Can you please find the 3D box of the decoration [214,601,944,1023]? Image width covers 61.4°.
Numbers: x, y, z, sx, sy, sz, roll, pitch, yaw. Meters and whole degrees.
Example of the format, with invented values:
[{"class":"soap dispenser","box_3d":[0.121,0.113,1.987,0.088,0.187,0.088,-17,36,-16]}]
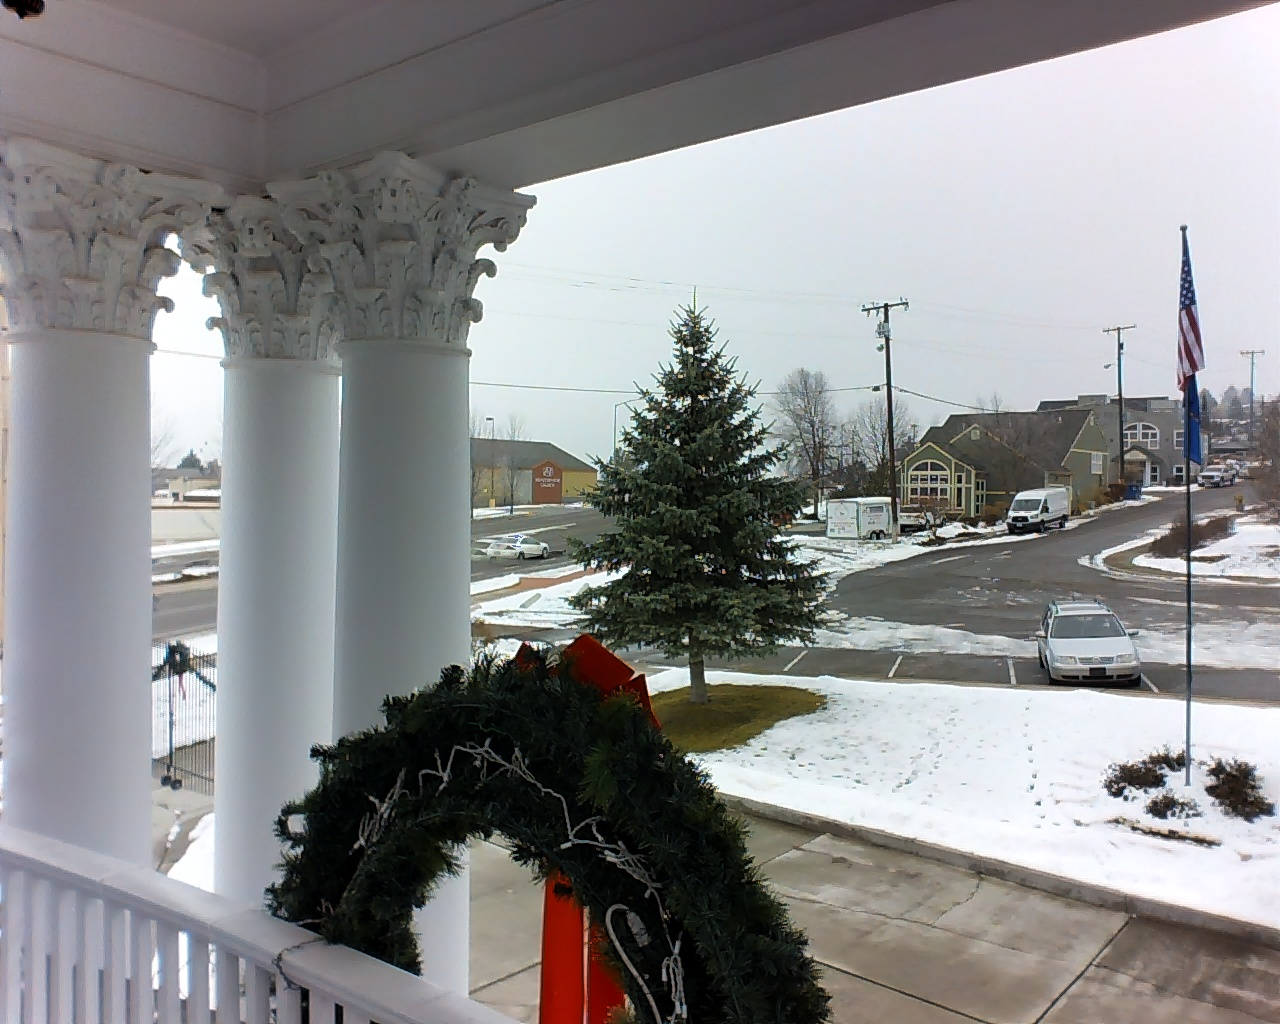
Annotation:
[{"class":"decoration","box_3d":[-0.230,0.820,2.090,1.520,1.170,0.400,1,0,39]}]
